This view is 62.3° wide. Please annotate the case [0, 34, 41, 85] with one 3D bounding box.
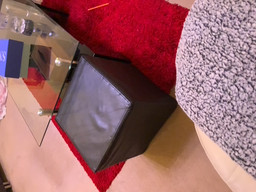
[{"bbox_3d":[-0.690,-0.220,1.250,0.330,0.170,0.250,15,99,39],"label":"case"}]
